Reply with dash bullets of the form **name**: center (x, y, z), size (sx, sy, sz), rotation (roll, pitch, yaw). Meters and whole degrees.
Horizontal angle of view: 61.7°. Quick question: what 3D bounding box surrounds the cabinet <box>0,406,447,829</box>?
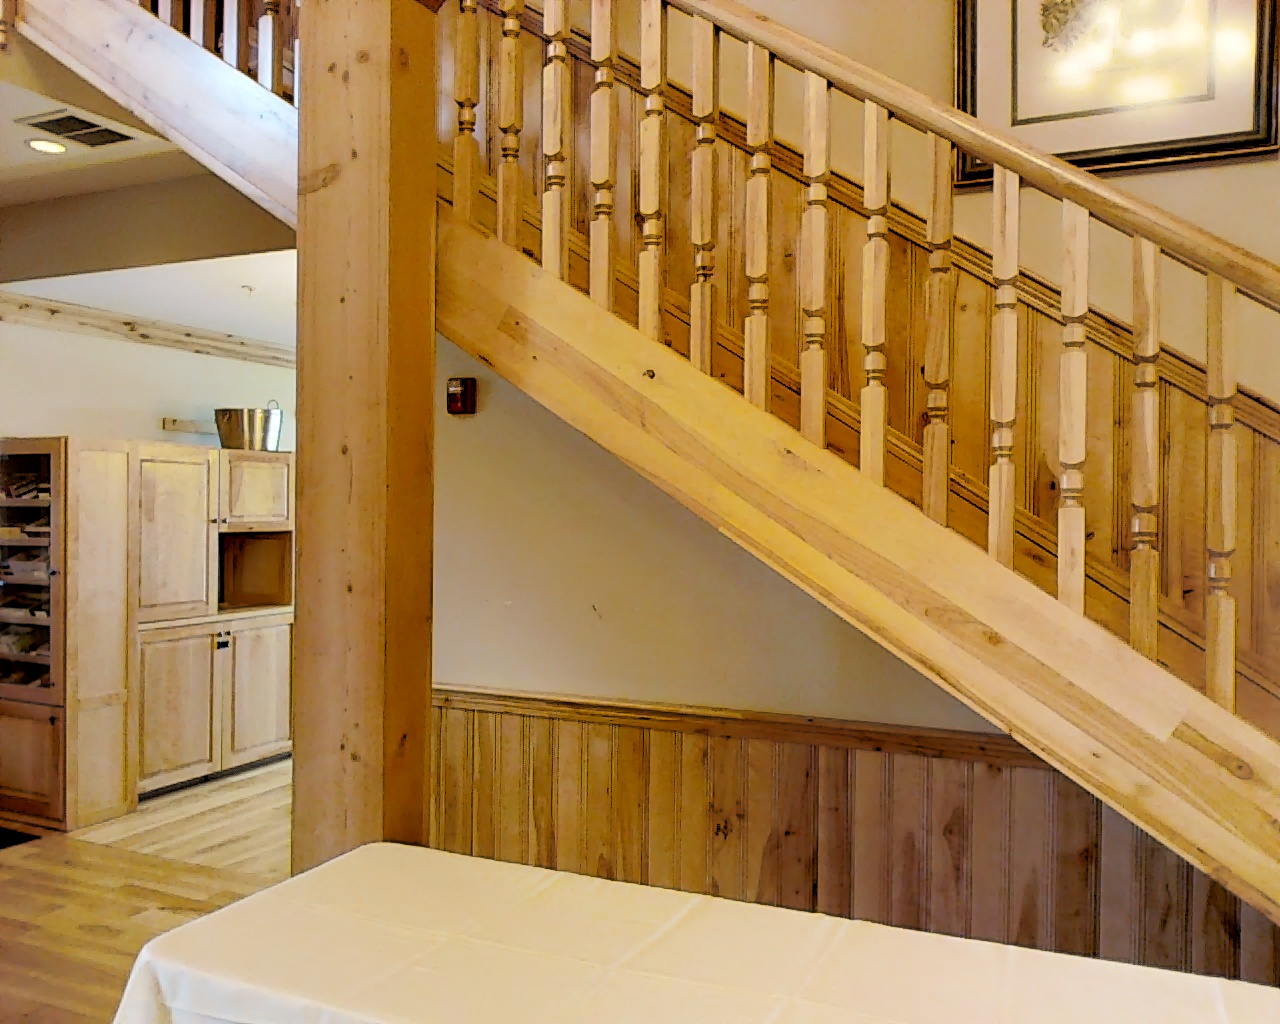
- **cabinet**: center (-2.530, 0.490, 6.690), size (0.920, 1.990, 3.210), rotation (1, 0, 25)
